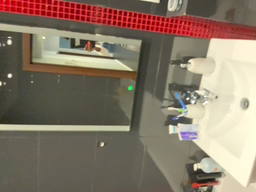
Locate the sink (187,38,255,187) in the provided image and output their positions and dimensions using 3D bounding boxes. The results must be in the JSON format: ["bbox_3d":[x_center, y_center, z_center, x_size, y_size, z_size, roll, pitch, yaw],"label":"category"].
[{"bbox_3d":[0.540,0.040,1.090,0.460,0.140,0.630,-133,48,-68],"label":"sink"}]
